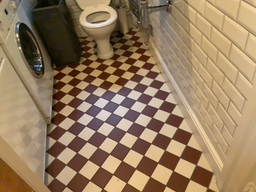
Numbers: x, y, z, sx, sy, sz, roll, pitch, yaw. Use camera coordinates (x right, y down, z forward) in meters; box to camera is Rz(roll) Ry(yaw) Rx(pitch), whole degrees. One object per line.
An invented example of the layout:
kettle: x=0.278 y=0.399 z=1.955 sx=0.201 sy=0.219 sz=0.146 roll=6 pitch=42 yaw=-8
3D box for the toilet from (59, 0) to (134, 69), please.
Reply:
toilet: x=-0.310 y=-0.890 z=2.040 sx=0.530 sy=0.940 sz=0.710 roll=-11 pitch=44 yaw=-3
